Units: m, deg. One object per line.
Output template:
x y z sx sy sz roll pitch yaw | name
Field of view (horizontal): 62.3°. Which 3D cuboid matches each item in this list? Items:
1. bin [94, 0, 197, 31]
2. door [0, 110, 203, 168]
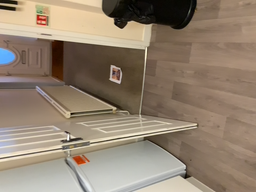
0.150 -0.740 1.580 0.330 0.690 0.410 25 113 54 | bin
-0.440 0.250 1.470 0.760 2.000 0.080 3 95 57 | door
